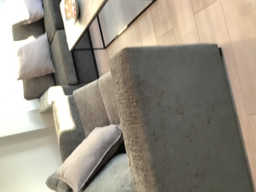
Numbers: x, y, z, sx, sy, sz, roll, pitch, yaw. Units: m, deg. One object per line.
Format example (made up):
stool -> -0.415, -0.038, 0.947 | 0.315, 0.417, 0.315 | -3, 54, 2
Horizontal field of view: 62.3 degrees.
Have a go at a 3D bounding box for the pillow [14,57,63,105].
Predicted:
pillow -> -1.260, -0.200, 3.000 | 0.220, 0.480, 0.490 | -20, 52, 60

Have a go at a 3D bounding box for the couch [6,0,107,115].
couch -> -1.120, -0.970, 2.970 | 1.140, 0.830, 2.290 | -16, 85, 59

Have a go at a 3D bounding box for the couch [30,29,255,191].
couch -> -0.150, 0.330, 1.660 | 1.670, 0.830, 1.040 | -17, 84, 59

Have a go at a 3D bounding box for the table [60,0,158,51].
table -> -0.250, -0.840, 1.930 | 0.990, 0.420, 0.510 | -19, 82, 59

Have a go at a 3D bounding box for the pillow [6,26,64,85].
pillow -> -1.280, -0.540, 2.940 | 0.310, 0.550, 0.550 | -19, 54, 60

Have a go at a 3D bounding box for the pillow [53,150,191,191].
pillow -> -0.090, 0.550, 1.290 | 0.740, 0.500, 0.300 | -19, 55, 58
